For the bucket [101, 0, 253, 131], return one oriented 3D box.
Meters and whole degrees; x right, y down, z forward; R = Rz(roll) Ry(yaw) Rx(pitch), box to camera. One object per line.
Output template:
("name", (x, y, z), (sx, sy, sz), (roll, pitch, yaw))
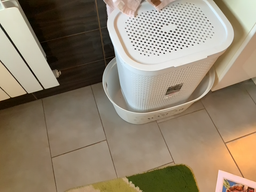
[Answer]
("bucket", (0.160, -0.140, 1.050), (0.470, 0.610, 0.340), (-13, 63, -7))
